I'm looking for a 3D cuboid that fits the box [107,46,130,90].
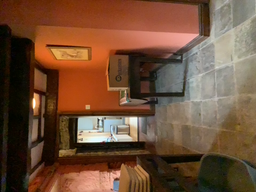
[{"bbox_3d":[-0.150,-0.390,3.130,0.450,0.280,0.550,154,117,-80],"label":"box"}]
